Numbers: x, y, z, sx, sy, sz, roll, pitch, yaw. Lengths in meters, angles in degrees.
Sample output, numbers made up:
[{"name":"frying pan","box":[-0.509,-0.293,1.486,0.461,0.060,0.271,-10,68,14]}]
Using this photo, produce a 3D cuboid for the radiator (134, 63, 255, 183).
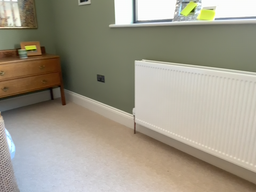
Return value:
[{"name":"radiator","box":[0.730,0.200,1.340,0.120,0.620,1.800,-17,24,-42]}]
